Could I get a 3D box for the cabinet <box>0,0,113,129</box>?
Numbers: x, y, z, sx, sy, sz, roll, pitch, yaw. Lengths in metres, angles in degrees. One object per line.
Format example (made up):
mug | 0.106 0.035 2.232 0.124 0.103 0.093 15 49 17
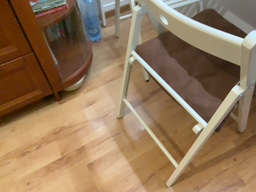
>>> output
cabinet | -0.570 -0.400 0.990 0.760 0.860 0.570 -26 58 -17
